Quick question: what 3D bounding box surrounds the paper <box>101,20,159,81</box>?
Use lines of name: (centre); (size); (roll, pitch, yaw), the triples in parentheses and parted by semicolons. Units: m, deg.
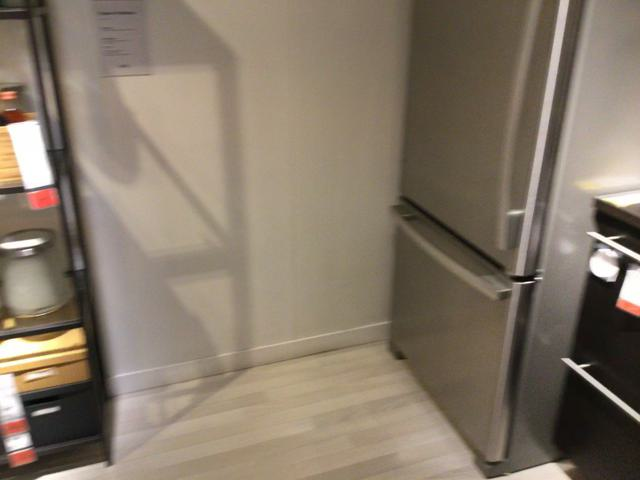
paper: (-0.570, -0.570, 1.740); (0.150, 0.170, 0.010); (-7, 24, -18)
